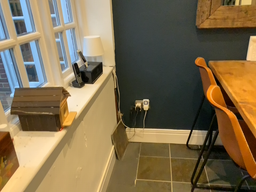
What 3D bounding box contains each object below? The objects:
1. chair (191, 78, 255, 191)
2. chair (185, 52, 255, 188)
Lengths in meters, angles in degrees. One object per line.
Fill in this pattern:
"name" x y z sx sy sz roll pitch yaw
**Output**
"chair" 0.710 0.440 1.220 0.540 0.980 0.490 0 25 8
"chair" 0.810 0.190 1.750 0.540 0.980 0.490 0 25 8
